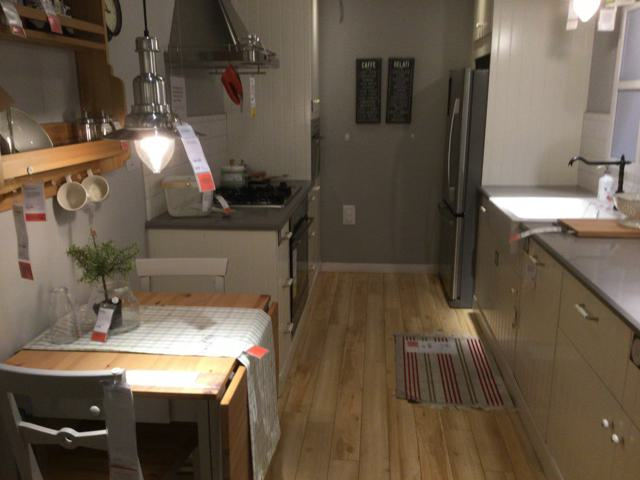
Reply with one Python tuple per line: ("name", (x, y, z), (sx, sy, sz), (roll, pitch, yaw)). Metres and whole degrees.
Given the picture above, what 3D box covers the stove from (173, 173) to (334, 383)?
("stove", (-0.330, 0.180, 3.540), (0.670, 1.010, 0.970), (-2, 14, 8))
